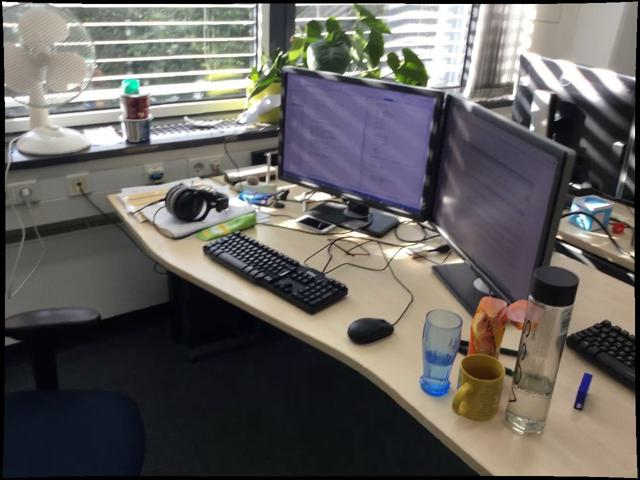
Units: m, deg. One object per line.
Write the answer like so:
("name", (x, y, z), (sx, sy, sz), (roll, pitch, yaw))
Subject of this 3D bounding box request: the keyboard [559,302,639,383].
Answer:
("keyboard", (0.699, 0.260, 1.110), (0.150, 0.030, 0.450), (-15, 32, -28))

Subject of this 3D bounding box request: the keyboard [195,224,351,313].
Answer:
("keyboard", (-0.130, 0.060, 1.490), (0.420, 0.030, 0.150), (23, 35, 36))

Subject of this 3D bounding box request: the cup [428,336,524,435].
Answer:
("cup", (0.280, 0.260, 1.050), (0.110, 0.100, 0.110), (-15, 32, -28))

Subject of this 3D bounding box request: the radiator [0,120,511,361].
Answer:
("radiator", (-0.180, -0.120, 2.820), (2.768, 0.500, 0.290), (-15, 32, -28))
